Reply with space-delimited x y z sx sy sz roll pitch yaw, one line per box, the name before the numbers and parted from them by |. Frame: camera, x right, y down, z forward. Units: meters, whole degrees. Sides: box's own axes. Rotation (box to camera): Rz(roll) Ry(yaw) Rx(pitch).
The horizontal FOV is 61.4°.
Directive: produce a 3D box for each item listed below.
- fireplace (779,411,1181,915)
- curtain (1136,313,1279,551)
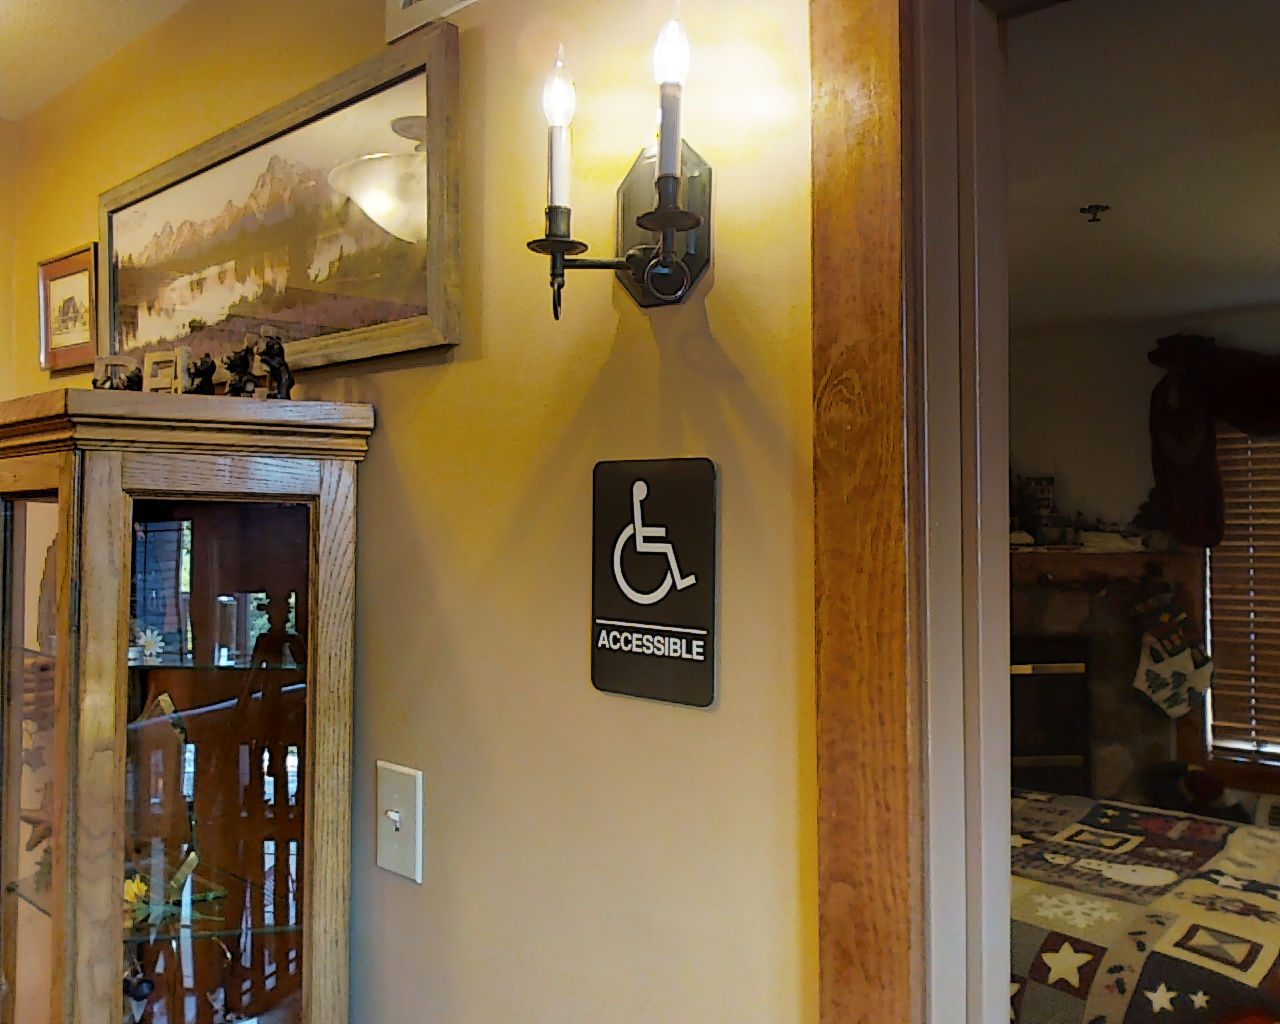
fireplace | 1.430 0.600 4.740 1.480 2.000 0.810 0 -1 -5
curtain | 2.799 -0.310 3.910 1.840 0.910 0.160 -1 -1 42
